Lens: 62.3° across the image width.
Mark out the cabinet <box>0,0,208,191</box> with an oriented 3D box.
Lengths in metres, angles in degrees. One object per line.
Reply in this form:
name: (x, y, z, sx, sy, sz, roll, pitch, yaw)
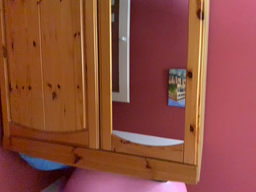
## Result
cabinet: (-0.160, -0.650, 1.300, 1.220, 2.030, 0.620, 4, -172, 20)
